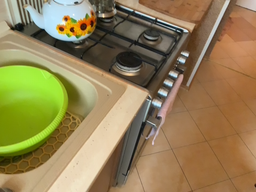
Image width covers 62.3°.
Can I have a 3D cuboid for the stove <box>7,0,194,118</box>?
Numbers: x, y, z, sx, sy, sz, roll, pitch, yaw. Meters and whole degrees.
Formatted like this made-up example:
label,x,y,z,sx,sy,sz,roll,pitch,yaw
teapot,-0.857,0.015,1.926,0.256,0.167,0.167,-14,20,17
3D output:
label,x,y,z,sx,sy,sz,roll,pitch,yaw
stove,-0.080,-0.240,0.930,0.610,0.110,0.500,26,48,12
